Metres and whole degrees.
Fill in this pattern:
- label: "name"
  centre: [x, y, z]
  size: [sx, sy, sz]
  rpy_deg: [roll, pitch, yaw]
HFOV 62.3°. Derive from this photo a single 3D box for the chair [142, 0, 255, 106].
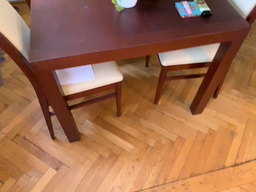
- label: "chair"
  centre: [0.440, -0.400, 1.330]
  size: [0.560, 0.960, 0.410]
  rpy_deg: [-7, 56, -6]
